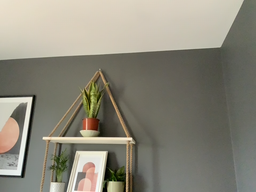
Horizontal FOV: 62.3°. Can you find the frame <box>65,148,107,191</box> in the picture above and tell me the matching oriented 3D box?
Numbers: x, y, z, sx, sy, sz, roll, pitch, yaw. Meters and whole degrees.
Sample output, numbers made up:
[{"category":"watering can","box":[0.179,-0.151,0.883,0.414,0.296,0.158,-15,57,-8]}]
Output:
[{"category":"frame","box":[-0.320,0.580,1.650,0.260,0.320,0.140,-1,-17,8]}]

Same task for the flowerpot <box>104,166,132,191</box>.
[{"category":"flowerpot","box":[-0.070,0.640,1.600,0.180,0.210,0.150,0,-17,6]}]

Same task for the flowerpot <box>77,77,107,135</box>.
[{"category":"flowerpot","box":[-0.290,0.090,1.770,0.160,0.450,0.180,-2,-18,12]}]
